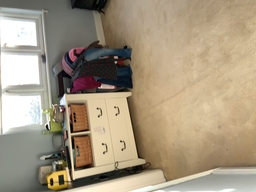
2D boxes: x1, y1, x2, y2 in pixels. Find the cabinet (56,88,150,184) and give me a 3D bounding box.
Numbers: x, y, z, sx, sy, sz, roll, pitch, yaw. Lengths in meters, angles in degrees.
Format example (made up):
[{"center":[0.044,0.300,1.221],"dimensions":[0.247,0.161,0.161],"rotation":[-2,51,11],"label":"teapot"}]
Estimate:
[{"center":[-0.350,0.470,2.580],"dimensions":[0.610,0.850,0.940],"rotation":[-42,56,57],"label":"cabinet"}]
